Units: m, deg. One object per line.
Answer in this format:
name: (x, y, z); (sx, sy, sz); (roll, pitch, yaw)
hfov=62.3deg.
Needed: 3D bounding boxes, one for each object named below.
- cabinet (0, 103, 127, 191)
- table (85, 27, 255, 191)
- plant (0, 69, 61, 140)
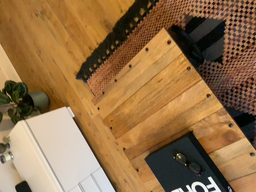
cabinet: (-0.320, 0.990, 1.750); (0.520, 0.500, 1.800); (-41, 79, 35)
table: (0.400, 0.360, 1.160); (0.650, 0.360, 1.300); (-41, 79, 36)
plant: (-1.000, 0.070, 1.930); (0.430, 0.510, 0.380); (-44, 77, 35)
